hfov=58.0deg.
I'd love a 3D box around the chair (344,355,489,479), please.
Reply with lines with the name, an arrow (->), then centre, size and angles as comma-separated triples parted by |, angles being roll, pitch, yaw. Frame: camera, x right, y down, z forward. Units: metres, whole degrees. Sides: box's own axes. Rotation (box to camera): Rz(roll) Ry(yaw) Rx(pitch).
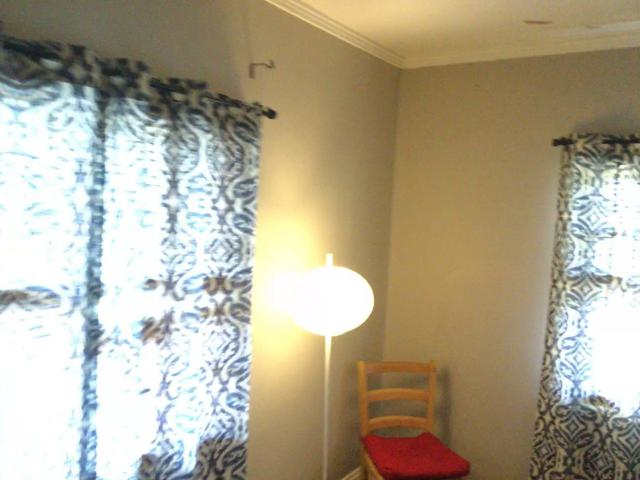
chair -> 0.430, 1.060, 2.810 | 0.510, 0.870, 0.620 | 1, 1, -9
